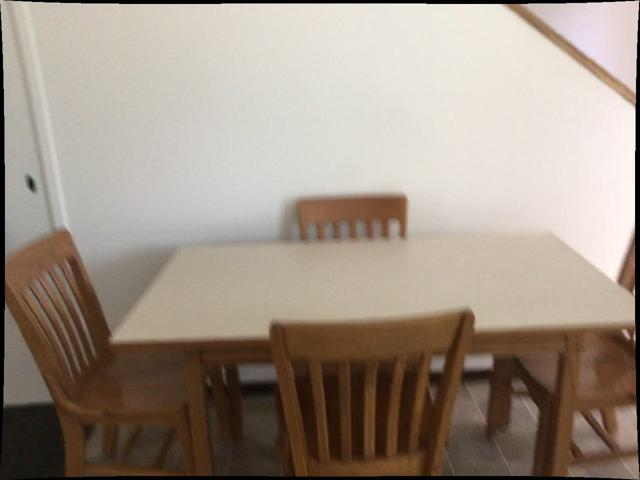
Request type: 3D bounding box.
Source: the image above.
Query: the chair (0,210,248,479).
[{"bbox_3d":[-0.609,0.421,1.940,0.619,0.891,0.570,-3,18,-2],"label":"chair"}]

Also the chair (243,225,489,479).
[{"bbox_3d":[0.100,0.491,1.610,0.499,0.891,0.640,-3,18,-2],"label":"chair"}]

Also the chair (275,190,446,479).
[{"bbox_3d":[0.120,0.341,2.090,0.489,0.891,0.640,-3,18,-2],"label":"chair"}]
